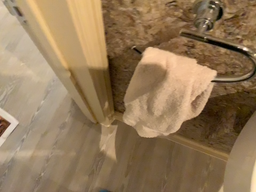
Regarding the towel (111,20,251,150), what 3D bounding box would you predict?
[{"bbox_3d":[0.090,0.040,0.660,0.230,0.570,0.130,22,72,5],"label":"towel"}]
